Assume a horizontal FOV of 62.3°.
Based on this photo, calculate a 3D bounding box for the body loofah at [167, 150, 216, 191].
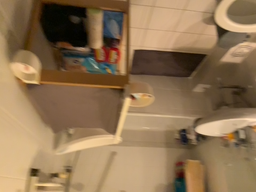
[{"bbox_3d":[0.750,1.090,2.560,0.400,0.760,0.510,2,156,-3],"label":"body loofah"}]

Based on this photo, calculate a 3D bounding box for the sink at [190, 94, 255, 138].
[{"bbox_3d":[0.860,0.200,1.850,0.420,0.190,0.590,3,156,-5],"label":"sink"}]

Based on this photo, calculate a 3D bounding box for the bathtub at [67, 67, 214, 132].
[{"bbox_3d":[0.140,0.090,2.850,1.700,0.560,0.700,3,156,-5],"label":"bathtub"}]
